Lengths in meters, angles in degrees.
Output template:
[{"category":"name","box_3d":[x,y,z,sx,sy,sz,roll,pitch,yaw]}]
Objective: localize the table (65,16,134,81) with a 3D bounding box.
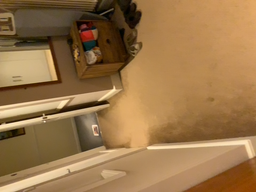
[{"category":"table","box_3d":[-0.360,-0.580,2.600,0.430,0.600,0.600,-30,74,59]}]
